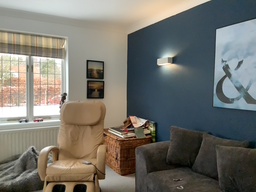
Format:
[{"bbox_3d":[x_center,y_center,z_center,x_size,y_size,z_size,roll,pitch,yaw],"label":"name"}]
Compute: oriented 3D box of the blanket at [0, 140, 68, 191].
[{"bbox_3d":[-1.400,0.950,2.950,0.920,0.400,0.760,-1,3,-31],"label":"blanket"}]
